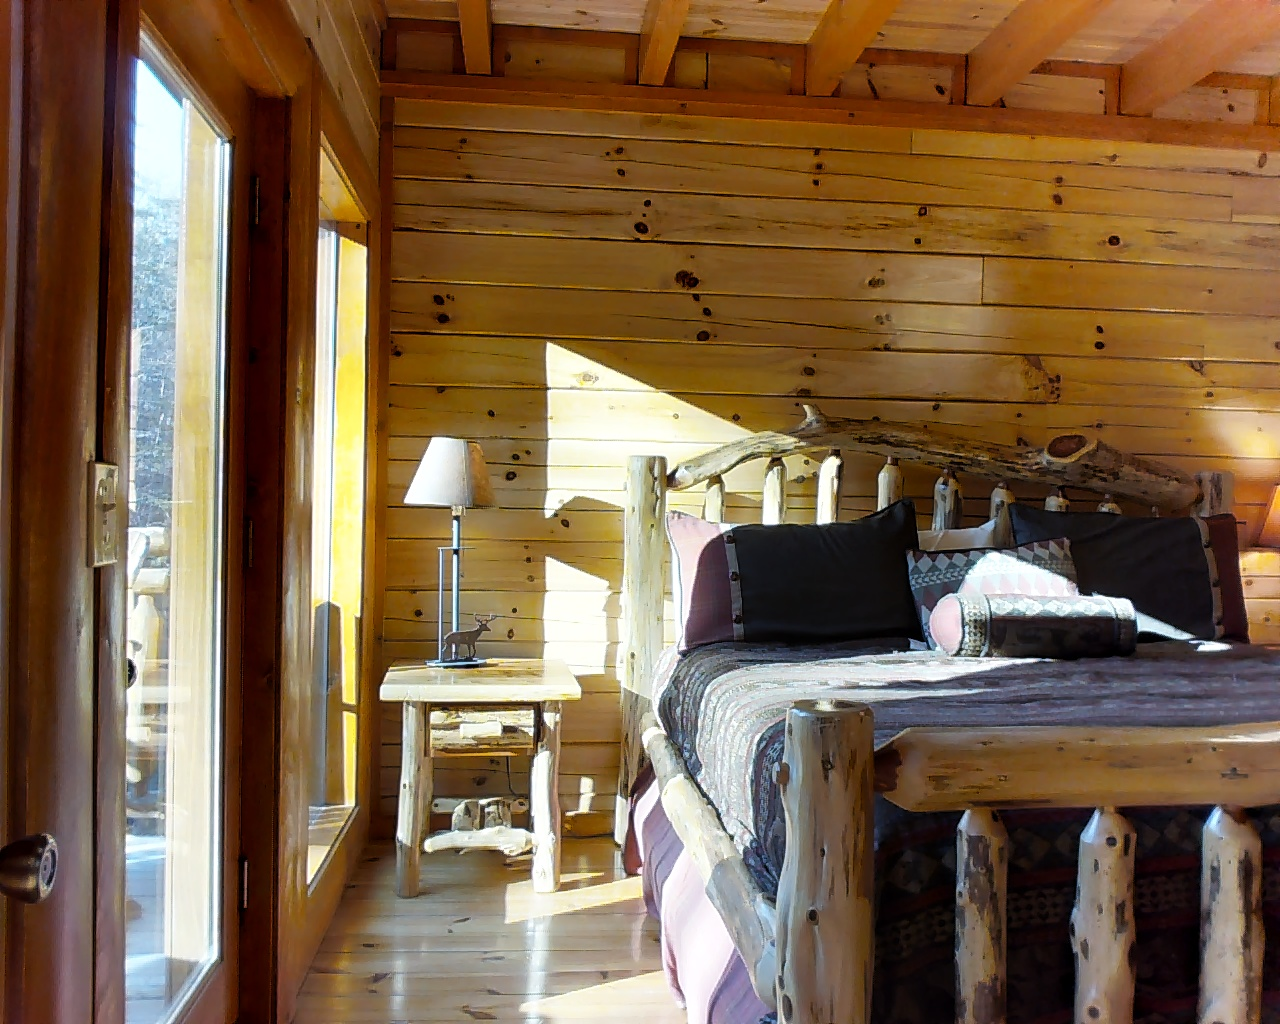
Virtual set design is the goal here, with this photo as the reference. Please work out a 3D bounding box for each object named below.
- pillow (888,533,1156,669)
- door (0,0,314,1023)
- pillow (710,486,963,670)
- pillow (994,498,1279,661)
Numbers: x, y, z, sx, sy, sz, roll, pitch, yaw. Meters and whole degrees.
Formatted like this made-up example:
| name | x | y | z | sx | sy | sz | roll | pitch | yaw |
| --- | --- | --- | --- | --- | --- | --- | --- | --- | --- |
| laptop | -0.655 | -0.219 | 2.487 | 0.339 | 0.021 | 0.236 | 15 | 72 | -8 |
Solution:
| name | x | y | z | sx | sy | sz | roll | pitch | yaw |
| --- | --- | --- | --- | --- | --- | --- | --- | --- | --- |
| pillow | 1.140 | 0.260 | 3.280 | 0.610 | 0.360 | 0.470 | 1 | 1 | -9 |
| door | -0.790 | 0.050 | 1.900 | 0.180 | 2.121 | 1.040 | 1 | 1 | -6 |
| pillow | 0.620 | 0.190 | 3.440 | 0.710 | 0.520 | 0.320 | -1 | 6 | -19 |
| pillow | 1.659 | 0.220 | 3.570 | 0.840 | 0.470 | 0.280 | 1 | 12 | -9 |
